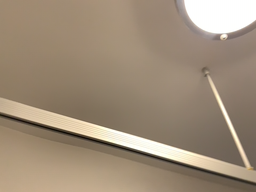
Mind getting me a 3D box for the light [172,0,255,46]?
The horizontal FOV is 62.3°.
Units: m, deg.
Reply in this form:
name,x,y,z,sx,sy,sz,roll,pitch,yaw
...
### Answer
name,x,y,z,sx,sy,sz,roll,pitch,yaw
light,0.290,-0.300,0.580,0.320,0.100,0.270,-4,130,6
